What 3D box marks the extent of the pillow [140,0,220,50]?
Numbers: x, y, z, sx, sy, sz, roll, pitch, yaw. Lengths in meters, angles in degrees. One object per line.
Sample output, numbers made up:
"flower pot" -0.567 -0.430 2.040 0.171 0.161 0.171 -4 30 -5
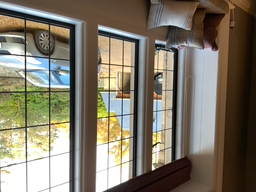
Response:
"pillow" 0.520 -0.670 2.010 0.810 0.340 0.360 -3 -175 -45
